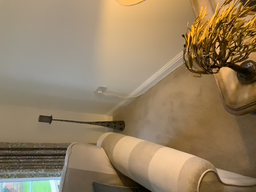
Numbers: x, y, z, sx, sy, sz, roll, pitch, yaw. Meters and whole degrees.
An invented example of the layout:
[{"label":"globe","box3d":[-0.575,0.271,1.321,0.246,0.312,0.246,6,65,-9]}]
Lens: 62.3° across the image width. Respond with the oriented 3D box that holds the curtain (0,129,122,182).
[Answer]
[{"label":"curtain","box3d":[-1.080,0.580,2.080,0.120,2.250,0.470,-40,49,47]}]
